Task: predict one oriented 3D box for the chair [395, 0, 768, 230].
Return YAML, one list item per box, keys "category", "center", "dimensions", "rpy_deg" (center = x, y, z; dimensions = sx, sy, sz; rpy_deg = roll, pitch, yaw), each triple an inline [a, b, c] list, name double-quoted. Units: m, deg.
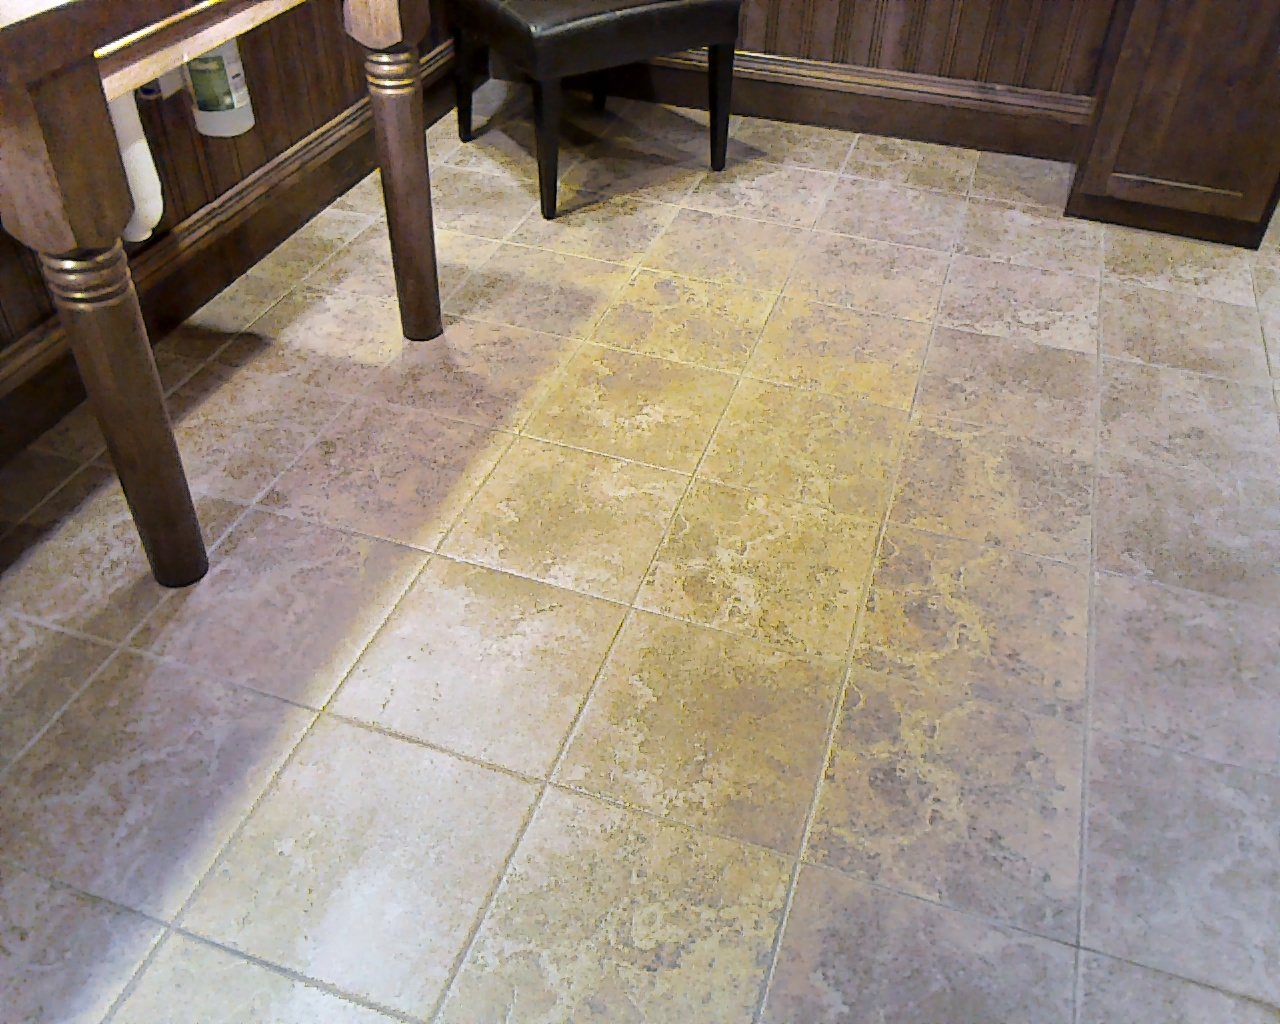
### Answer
- category: "chair"
  center: [-0.180, -1.400, 2.690]
  dimensions: [0.620, 0.980, 0.850]
  rpy_deg: [-22, 46, -24]
